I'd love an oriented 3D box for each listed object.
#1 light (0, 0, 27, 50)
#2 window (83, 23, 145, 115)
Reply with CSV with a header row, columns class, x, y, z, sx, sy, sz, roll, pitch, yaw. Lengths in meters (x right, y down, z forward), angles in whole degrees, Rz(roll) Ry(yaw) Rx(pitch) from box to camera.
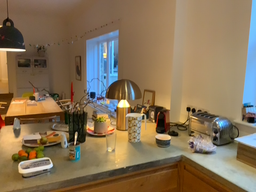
class,x,y,z,sx,sy,sz,roll,pitch,yaw
light,-2.310,-1.490,3.950,0.440,0.630,1.150,-18,106,-22
window,-0.450,-0.620,4.730,0.540,2.260,1.560,-3,100,-25
